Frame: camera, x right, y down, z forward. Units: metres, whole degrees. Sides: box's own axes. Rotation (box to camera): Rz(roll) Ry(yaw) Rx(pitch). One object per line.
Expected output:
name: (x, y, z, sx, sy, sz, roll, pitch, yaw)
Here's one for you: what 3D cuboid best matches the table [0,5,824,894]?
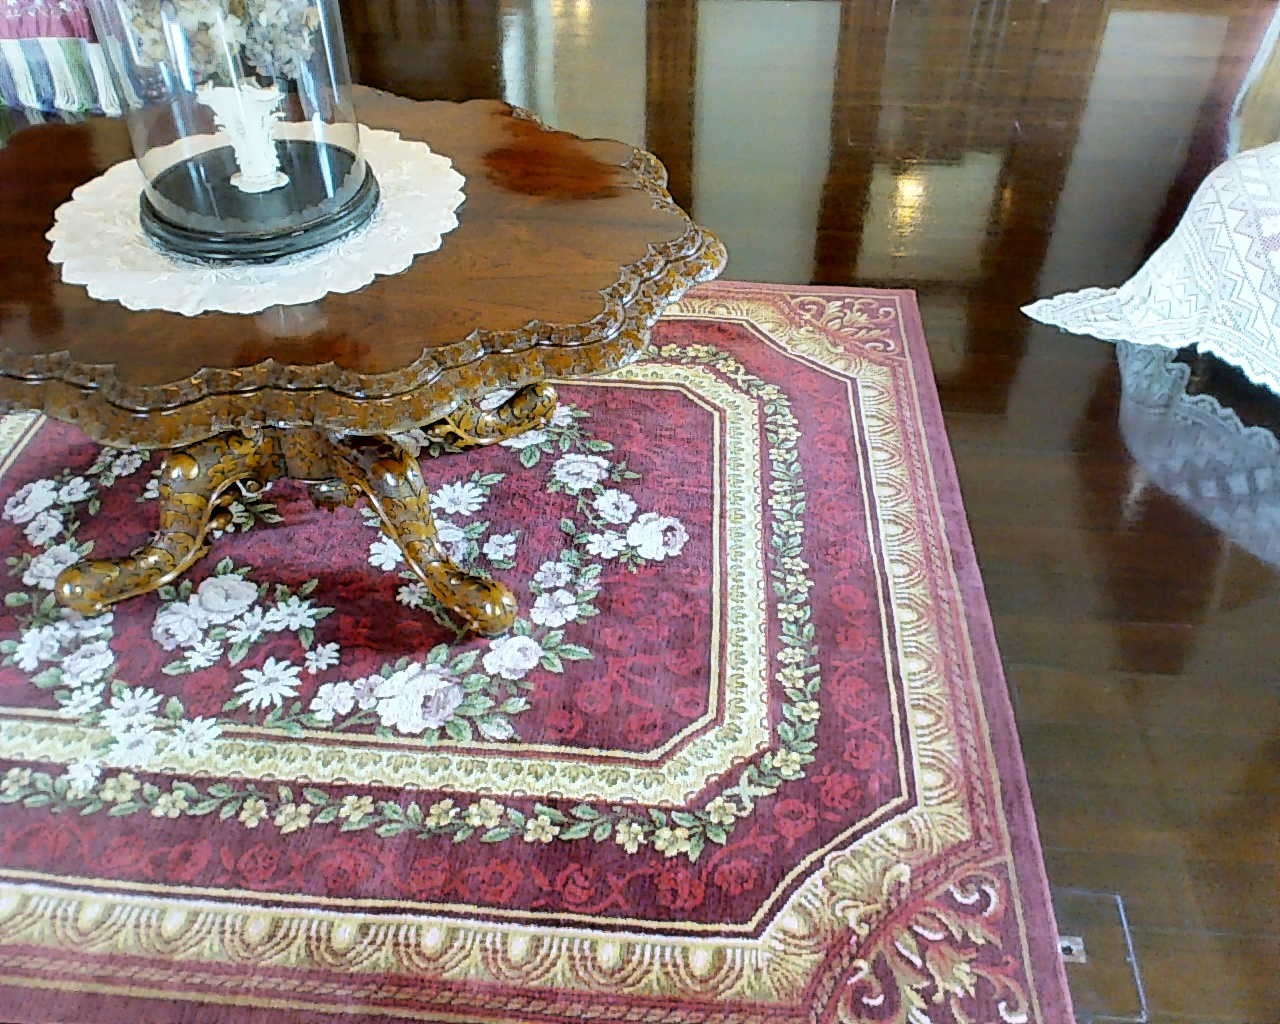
table: (-0.650, -0.320, 2.100, 1.560, 0.700, 1.340, 19, 45, 20)
